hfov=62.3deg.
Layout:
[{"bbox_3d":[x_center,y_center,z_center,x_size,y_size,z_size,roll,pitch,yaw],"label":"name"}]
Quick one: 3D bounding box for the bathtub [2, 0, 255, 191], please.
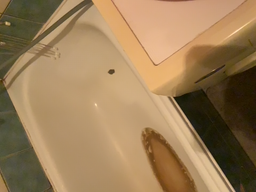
[{"bbox_3d":[0.120,0.330,1.020,0.690,0.560,1.480,-37,77,26],"label":"bathtub"}]
